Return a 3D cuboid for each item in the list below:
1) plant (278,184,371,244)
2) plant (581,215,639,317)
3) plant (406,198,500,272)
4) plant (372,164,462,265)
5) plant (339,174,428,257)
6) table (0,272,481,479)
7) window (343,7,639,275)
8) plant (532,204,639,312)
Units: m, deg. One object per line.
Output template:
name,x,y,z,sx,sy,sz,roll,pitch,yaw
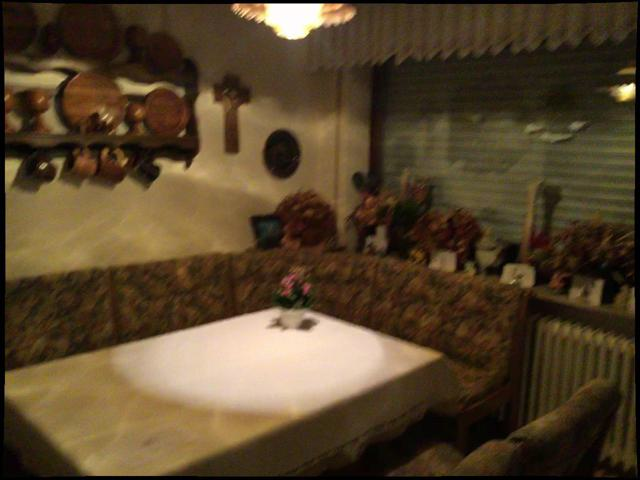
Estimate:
plant,0.030,-0.170,3.520,0.480,0.290,0.310,-8,15,-43
plant,1.389,0.110,2.460,0.330,0.360,0.370,-8,15,-43
plant,0.719,-0.040,3.140,0.320,0.320,0.360,-8,15,-43
plant,0.549,-0.160,3.300,0.310,0.510,0.360,-8,15,-43
plant,0.380,-0.160,3.480,0.350,0.430,0.370,-8,15,-43
table,-0.310,0.711,2.030,1.479,0.811,1.000,-8,15,-43
window,1.199,-0.460,2.700,0.390,1.061,2.609,-8,15,-43
plant,1.229,0.060,2.610,0.360,0.390,0.350,-8,15,-43
